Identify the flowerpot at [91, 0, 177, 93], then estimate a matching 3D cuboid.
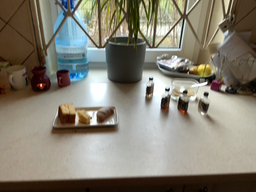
[{"bbox_3d":[0.040,-0.380,1.060,0.360,0.630,0.290,6,29,7],"label":"flowerpot"}]
